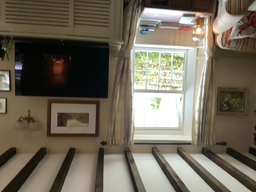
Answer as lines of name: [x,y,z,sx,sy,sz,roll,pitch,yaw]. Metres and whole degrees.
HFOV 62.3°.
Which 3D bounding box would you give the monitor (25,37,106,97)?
monitor: [-0.840,-0.380,2.870,1.050,0.740,0.050,2,-175,-6]
